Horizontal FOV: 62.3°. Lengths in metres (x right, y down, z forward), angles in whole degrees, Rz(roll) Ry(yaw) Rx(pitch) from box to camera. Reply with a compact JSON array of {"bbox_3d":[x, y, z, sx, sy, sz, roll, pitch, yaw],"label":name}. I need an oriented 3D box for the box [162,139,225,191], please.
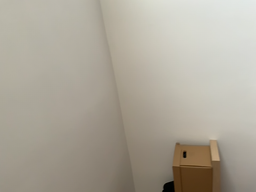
[{"bbox_3d":[0.520,0.660,1.650,0.360,0.400,0.490,-51,-44,-59],"label":"box"}]
